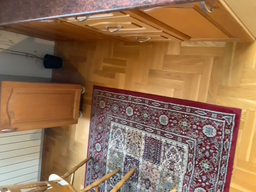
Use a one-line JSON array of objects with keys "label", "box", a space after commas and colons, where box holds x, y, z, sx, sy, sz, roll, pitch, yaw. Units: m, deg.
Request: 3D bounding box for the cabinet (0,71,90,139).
[{"label": "cabinet", "box": [-0.910, 0.040, 1.980, 0.580, 0.870, 0.440, 16, 100, 37]}]
